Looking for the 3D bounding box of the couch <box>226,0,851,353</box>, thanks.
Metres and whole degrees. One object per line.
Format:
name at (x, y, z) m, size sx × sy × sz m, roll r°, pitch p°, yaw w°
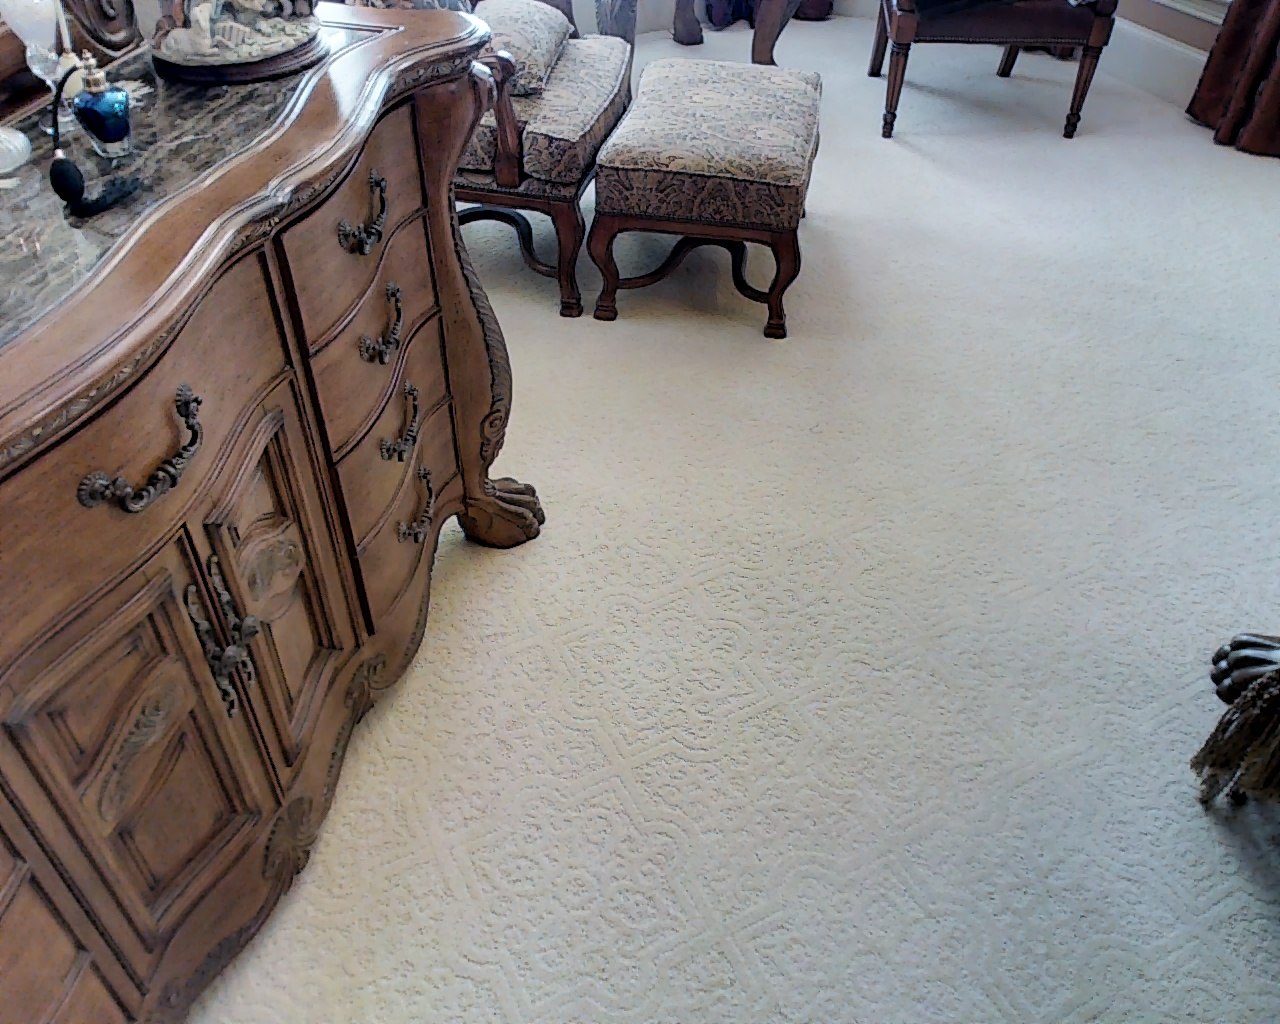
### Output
couch at (-0.180, -1.180, 2.790) m, size 1.390 × 1.080 × 0.840 m, roll 8°, pitch 43°, yaw 7°
